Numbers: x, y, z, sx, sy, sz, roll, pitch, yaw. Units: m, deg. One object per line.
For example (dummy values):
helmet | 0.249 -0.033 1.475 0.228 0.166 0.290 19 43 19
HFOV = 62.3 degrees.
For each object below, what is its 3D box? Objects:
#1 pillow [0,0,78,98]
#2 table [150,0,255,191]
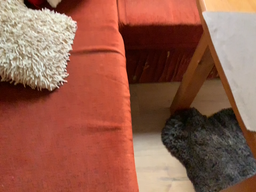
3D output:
pillow | -0.380 -0.240 0.840 0.320 0.110 0.420 22 46 -32
table | 0.850 0.100 0.880 1.320 0.720 0.730 -1 56 -6
